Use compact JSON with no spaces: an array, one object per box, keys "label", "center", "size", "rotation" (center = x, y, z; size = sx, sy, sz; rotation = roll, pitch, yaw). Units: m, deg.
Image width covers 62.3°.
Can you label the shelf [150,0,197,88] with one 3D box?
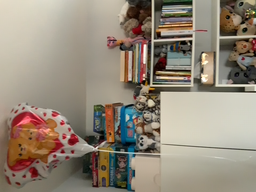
[{"label":"shelf","center":[0.340,-0.550,1.590],"size":[0.200,0.310,0.970],"rotation":[0,-88,-78]}]

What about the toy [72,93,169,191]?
[{"label":"toy","center":[-0.020,0.310,1.570],"size":[0.420,0.620,0.640],"rotation":[6,-95,-78]}]

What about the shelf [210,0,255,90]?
[{"label":"shelf","center":[0.760,-0.540,1.510],"size":[0.190,0.280,0.980],"rotation":[0,-88,-78]}]
